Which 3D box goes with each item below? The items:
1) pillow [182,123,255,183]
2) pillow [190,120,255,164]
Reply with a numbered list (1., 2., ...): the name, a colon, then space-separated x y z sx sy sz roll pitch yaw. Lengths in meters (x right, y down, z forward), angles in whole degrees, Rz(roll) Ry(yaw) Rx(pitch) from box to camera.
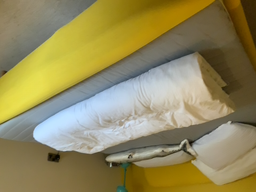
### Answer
1. pillow: 0.960 0.580 2.020 0.430 0.390 0.700 12 149 -29
2. pillow: 0.830 0.410 1.790 0.300 0.230 0.530 6 151 -21
